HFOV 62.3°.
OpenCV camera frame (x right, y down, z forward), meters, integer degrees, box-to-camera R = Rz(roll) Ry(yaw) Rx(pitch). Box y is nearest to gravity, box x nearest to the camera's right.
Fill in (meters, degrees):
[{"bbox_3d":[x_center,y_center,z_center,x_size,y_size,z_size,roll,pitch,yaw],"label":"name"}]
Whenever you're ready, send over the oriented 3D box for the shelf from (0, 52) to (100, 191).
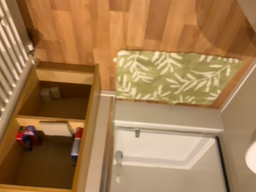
[{"bbox_3d":[-0.440,0.250,1.180,0.430,1.060,0.310,5,143,-2],"label":"shelf"}]
